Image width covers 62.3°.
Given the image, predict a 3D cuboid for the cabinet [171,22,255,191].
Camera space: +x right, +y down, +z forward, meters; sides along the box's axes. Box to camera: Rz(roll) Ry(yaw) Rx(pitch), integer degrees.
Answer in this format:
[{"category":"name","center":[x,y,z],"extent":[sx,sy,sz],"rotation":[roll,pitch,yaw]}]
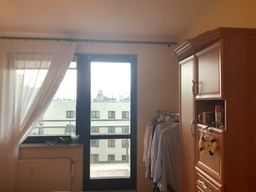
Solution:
[{"category":"cabinet","center":[0.710,0.260,1.790],"extent":[0.390,1.440,0.870],"rotation":[1,-1,-9]}]

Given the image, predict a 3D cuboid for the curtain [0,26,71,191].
[{"category":"curtain","center":[-1.740,0.210,2.990],"extent":[1.760,2.340,0.180],"rotation":[1,-1,-6]}]
